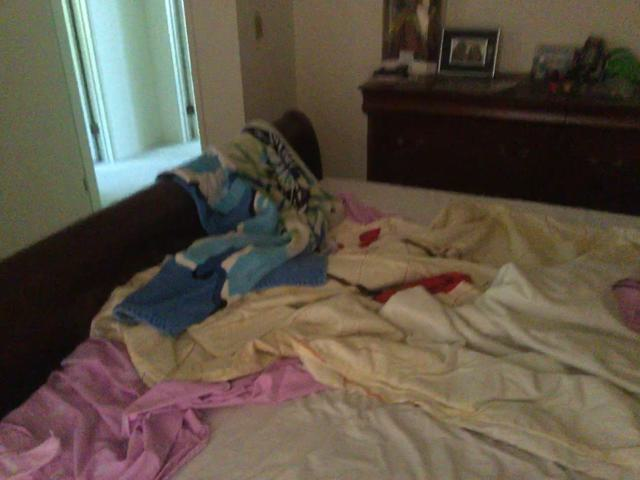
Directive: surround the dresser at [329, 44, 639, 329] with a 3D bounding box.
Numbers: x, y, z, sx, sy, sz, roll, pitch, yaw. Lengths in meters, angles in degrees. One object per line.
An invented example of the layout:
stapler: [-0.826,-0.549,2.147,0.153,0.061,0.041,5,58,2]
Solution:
dresser: [0.920,-0.250,2.390,1.690,0.930,0.510,10,29,21]
